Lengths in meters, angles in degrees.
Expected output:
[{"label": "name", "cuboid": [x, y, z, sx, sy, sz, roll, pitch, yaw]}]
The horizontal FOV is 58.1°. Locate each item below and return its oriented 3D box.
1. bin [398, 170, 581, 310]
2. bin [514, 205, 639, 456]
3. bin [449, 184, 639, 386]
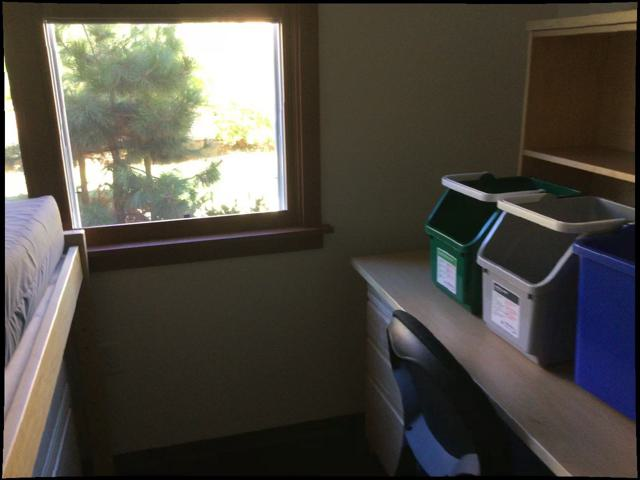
[{"label": "bin", "cuboid": [0.479, -0.020, 1.710, 0.369, 0.291, 0.350, -6, 19, -16]}, {"label": "bin", "cuboid": [0.708, 0.150, 1.170, 0.409, 0.341, 0.410, -6, 19, -16]}, {"label": "bin", "cuboid": [0.588, 0.080, 1.400, 0.399, 0.341, 0.350, -6, 19, -16]}]
